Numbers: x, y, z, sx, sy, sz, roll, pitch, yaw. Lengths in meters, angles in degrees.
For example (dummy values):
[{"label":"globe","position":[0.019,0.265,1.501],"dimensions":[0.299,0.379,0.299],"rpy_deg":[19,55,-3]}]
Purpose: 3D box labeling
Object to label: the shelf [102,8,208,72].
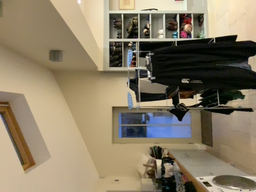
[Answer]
[{"label":"shelf","position":[0.560,-1.200,4.590],"dimensions":[0.330,2.190,1.300],"rpy_deg":[97,173,-86]}]
